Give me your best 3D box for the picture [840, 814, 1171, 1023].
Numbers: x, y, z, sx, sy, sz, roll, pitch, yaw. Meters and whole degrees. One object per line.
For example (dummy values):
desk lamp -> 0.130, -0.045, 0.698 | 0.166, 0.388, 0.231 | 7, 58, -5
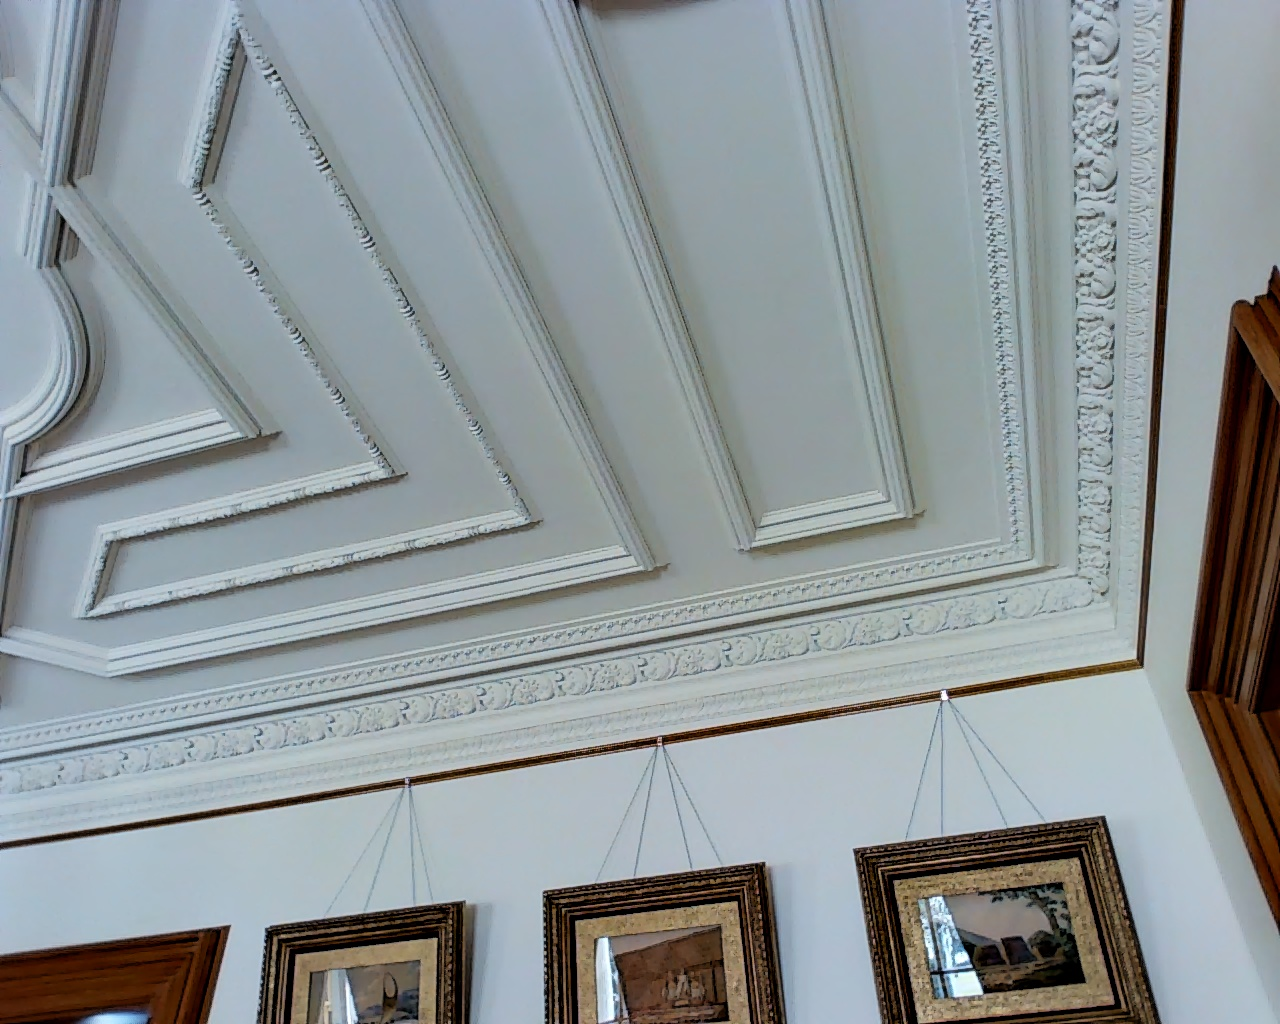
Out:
picture -> 1.170, 1.441, 3.530 | 0.900, 0.740, 0.140 | -13, -33, 14

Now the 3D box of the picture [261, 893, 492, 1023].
picture -> -1.000, 1.891, 4.050 | 0.880, 0.750, 0.150 | -13, -35, 14

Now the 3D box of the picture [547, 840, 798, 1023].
picture -> 0.100, 1.641, 3.830 | 0.850, 0.780, 0.190 | -13, -34, 14
